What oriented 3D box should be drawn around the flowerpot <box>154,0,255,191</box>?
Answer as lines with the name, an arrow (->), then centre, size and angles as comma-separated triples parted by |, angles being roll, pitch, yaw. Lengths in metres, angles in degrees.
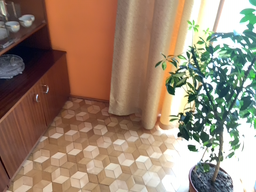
flowerpot -> 0.540, 0.020, 1.150 | 0.560, 1.620, 0.440 | 6, 37, 1
